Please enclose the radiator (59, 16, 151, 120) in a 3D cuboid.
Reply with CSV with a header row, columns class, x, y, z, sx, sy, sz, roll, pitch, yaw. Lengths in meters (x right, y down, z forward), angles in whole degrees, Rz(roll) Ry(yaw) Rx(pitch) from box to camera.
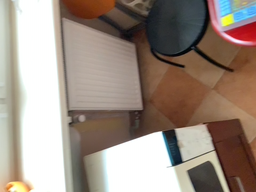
class,x,y,z,sx,sy,sz,roll,pitch,yaw
radiator,-0.120,-0.140,1.380,0.140,0.600,0.550,-15,78,40
